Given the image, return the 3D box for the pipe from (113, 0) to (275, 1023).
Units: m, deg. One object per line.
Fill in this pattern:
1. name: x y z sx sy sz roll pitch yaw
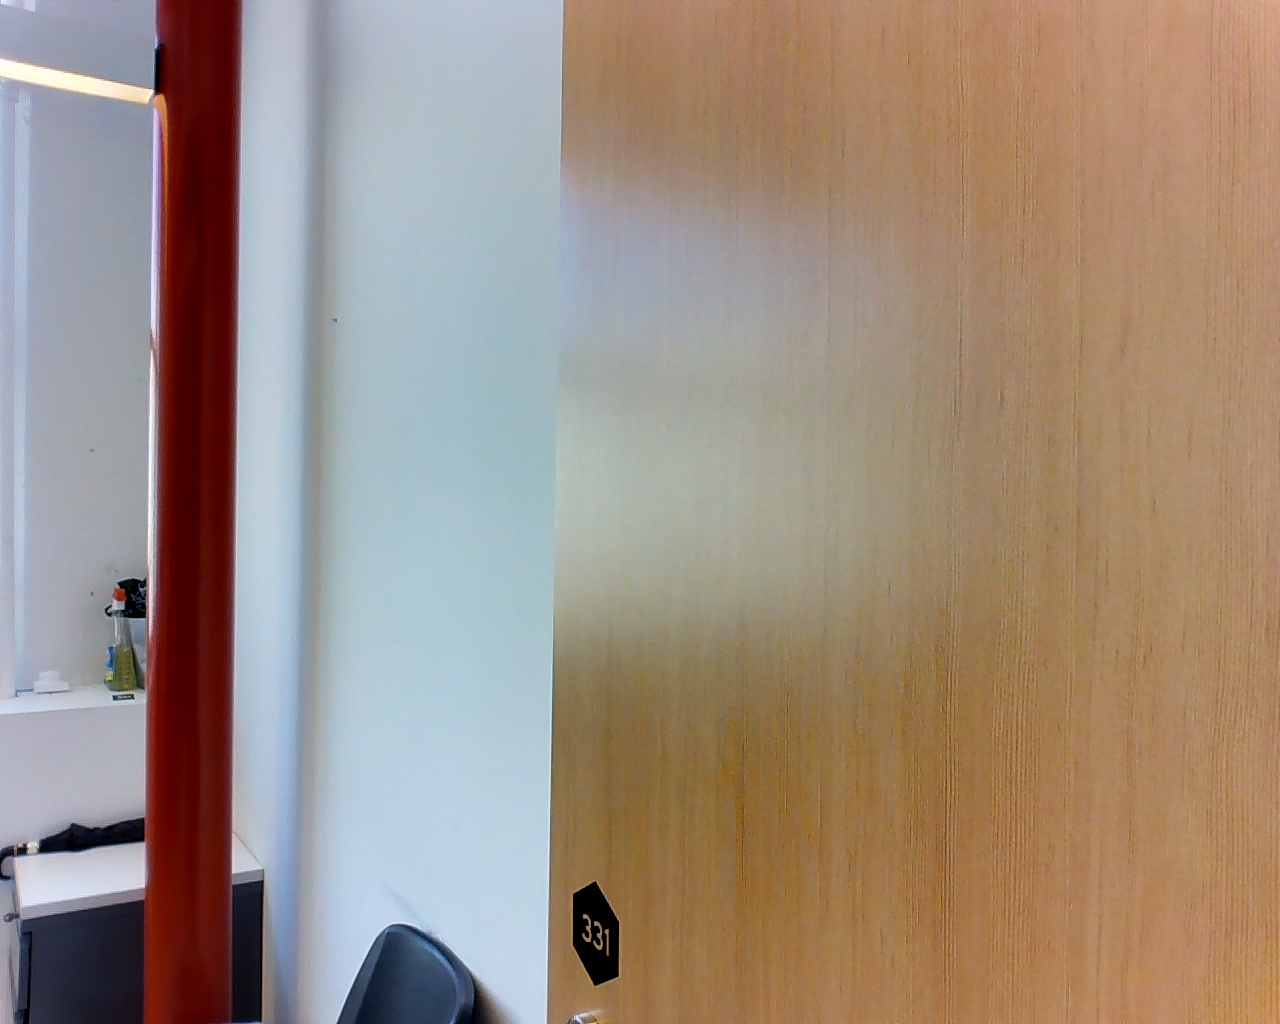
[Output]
1. pipe: -0.940 0.140 2.240 0.230 2.551 0.280 1 0 -33
